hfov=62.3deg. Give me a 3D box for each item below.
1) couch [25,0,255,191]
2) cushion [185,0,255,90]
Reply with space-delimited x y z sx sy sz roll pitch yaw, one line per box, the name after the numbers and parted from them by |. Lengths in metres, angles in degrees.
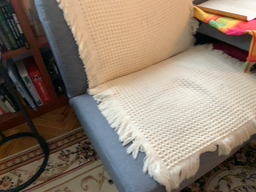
0.560 -0.310 1.120 1.790 0.750 0.850 -24 49 -20 | couch
0.650 -0.290 0.980 0.520 0.190 0.510 -25 49 -21 | cushion
